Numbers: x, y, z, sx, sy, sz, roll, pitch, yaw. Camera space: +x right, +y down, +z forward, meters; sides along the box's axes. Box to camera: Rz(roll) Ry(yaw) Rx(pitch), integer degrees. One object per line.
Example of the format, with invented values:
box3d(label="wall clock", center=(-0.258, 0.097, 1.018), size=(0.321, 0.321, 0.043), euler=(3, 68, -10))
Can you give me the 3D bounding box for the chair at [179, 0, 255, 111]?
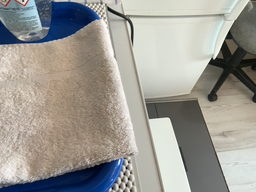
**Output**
box3d(label="chair", center=(0.760, -0.420, 1.260), size=(0.500, 0.890, 0.640), euler=(-5, 60, -9))
